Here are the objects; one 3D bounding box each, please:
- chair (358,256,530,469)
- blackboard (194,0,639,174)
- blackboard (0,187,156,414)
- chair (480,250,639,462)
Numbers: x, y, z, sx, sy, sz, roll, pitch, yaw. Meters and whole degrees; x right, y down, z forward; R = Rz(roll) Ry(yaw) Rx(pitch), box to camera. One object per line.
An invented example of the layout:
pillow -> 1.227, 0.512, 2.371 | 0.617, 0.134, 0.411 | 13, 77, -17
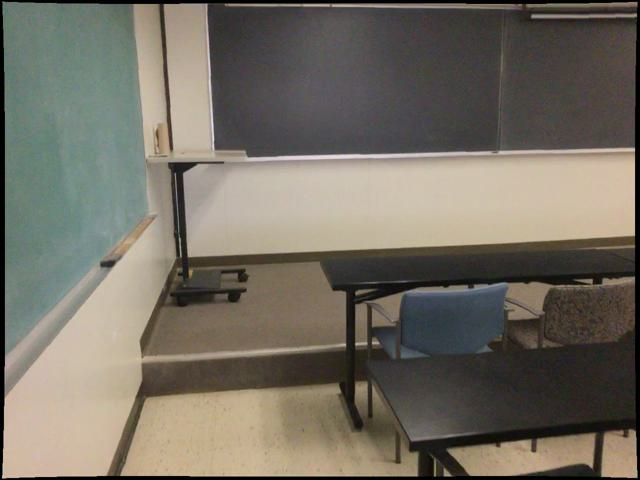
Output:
chair -> 0.539, 0.511, 2.620 | 0.579, 0.732, 0.550 | -6, 10, -9
blackboard -> 1.476, -1.323, 4.700 | 4.808, 1.353, 0.550 | -3, 10, -8
blackboard -> -0.868, 0.030, 2.360 | 0.050, 0.331, 2.310 | -3, 10, -8
chair -> 1.137, 0.501, 2.680 | 0.599, 0.772, 0.480 | -6, 11, -9
